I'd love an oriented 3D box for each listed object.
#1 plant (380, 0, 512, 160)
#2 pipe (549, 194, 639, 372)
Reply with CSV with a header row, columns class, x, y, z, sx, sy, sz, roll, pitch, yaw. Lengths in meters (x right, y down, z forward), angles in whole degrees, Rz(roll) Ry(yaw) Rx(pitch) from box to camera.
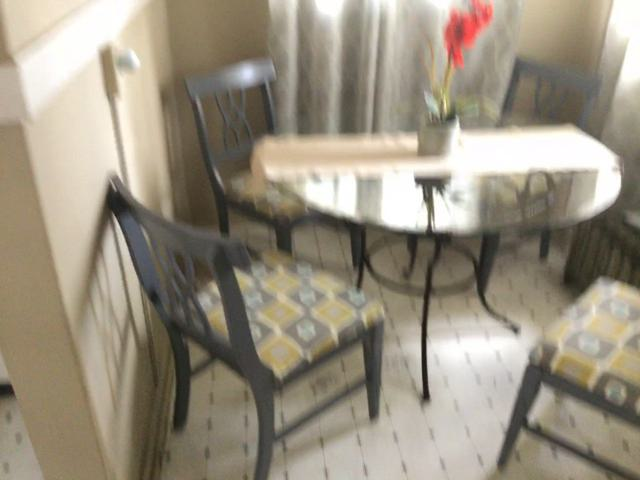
class,x,y,z,sx,sy,sz,roll,pitch,yaw
plant,0.370,-0.500,1.790,0.300,0.460,0.190,-1,28,-6
pipe,1.220,0.130,2.210,0.330,0.380,0.660,-1,28,-6
